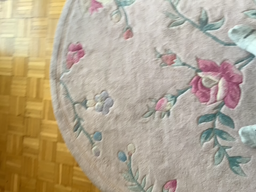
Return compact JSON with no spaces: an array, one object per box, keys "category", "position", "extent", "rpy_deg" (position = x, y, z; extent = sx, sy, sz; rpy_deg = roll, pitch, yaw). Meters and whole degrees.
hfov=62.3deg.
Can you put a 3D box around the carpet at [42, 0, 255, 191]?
[{"category":"carpet","position":[0.260,-0.090,0.960],"extent":[1.440,0.060,1.430],"rpy_deg":[1,90,16]}]
